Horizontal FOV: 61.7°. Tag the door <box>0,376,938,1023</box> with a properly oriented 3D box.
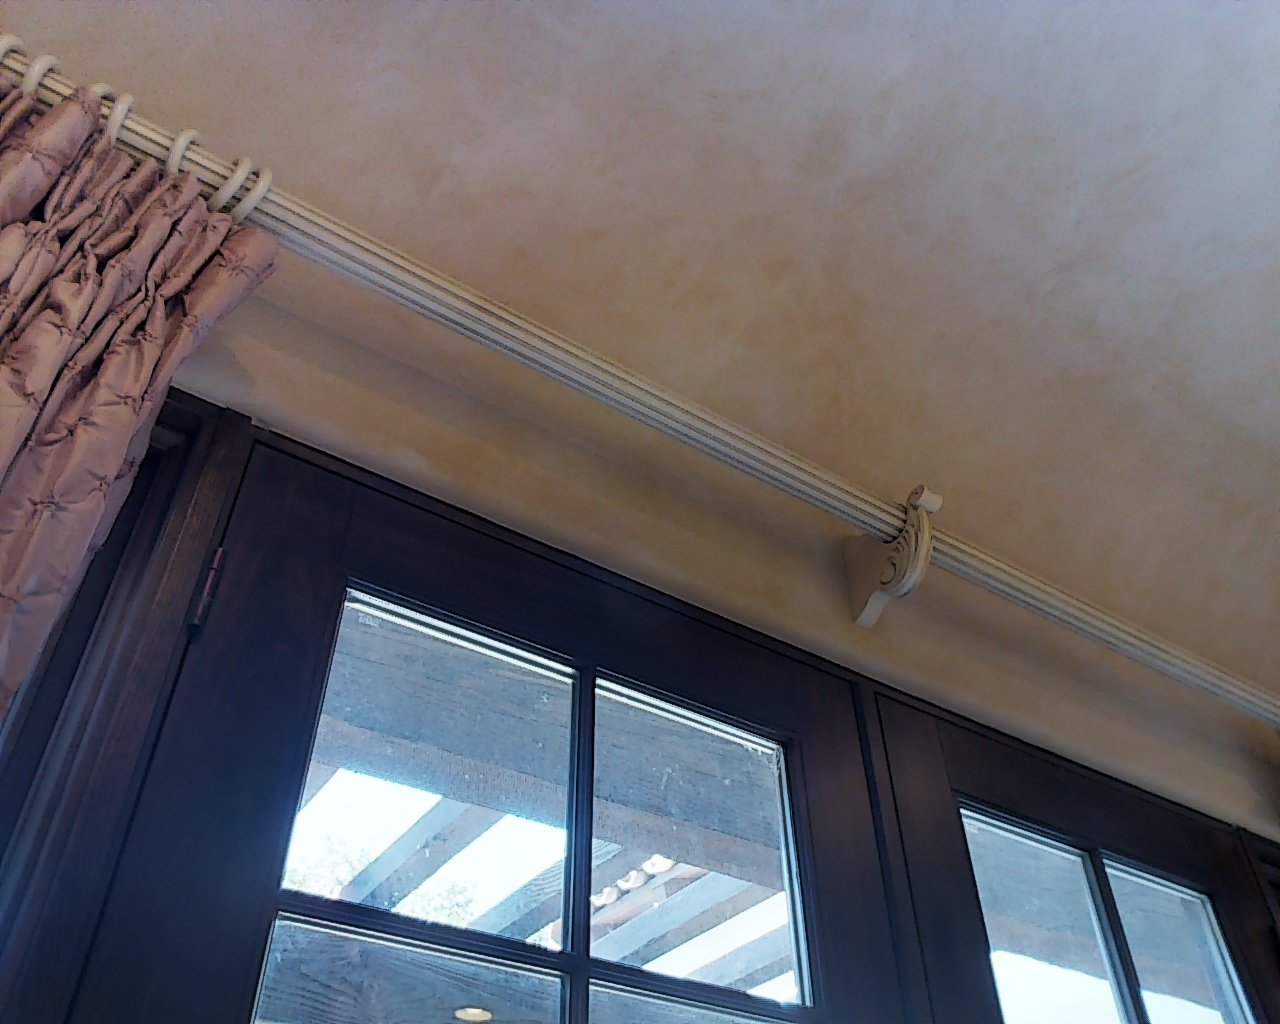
[{"bbox_3d":[-0.080,0.940,0.560,0.940,2.350,0.090,25,-48,-25],"label":"door"}]
